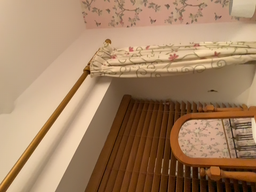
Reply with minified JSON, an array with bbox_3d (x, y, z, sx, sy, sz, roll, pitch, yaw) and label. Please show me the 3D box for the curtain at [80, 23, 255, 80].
[{"bbox_3d":[0.730,-0.320,1.420,0.590,2.030,0.100,-71,-23,-48],"label":"curtain"}]
